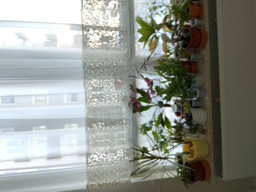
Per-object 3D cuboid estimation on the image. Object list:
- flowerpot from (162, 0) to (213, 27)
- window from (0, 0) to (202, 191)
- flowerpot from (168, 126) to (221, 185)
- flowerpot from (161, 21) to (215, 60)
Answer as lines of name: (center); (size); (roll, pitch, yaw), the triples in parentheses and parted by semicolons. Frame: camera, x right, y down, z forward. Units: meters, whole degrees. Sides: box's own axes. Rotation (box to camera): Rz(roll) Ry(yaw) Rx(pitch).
flowerpot: (0.460, -0.710, 1.660); (0.230, 0.310, 0.270); (-153, 63, -73)
window: (-0.570, -0.200, 1.380); (0.250, 2.230, 1.890); (-173, 82, -75)
flowerpot: (0.520, 0.450, 1.670); (0.210, 0.330, 0.380); (180, 89, -75)
flowerpot: (0.460, -0.420, 1.650); (0.210, 0.340, 0.240); (-171, 80, -75)
